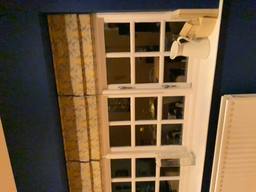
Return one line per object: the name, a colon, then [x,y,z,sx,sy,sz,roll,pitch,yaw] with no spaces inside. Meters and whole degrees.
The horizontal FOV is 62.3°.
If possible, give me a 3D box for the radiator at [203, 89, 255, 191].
radiator: [1.100,0.860,2.060,0.140,0.660,1.920,-98,6,-69]
